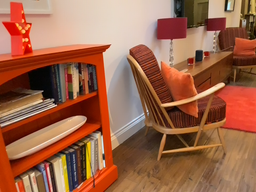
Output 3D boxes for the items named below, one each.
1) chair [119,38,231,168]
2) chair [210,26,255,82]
[{"bbox_3d":[0.370,0.000,1.930,0.720,0.940,0.630,-8,18,-11],"label":"chair"},{"bbox_3d":[2.100,-0.850,4.140,0.660,0.950,0.760,-4,18,-1],"label":"chair"}]
